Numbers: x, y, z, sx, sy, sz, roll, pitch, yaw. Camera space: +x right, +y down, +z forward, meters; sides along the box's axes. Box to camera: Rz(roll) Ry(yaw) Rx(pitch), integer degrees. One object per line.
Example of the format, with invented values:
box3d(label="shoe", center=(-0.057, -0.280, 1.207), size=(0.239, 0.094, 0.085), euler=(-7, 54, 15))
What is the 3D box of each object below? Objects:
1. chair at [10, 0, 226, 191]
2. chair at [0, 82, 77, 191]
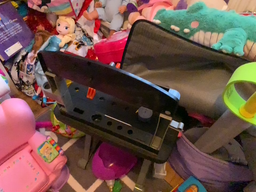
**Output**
box3d(label="chair", center=(-0.010, 0.030, 0.850), size=(0.430, 0.760, 0.390), euler=(20, 55, 11))
box3d(label="chair", center=(-0.500, 0.280, 0.860), size=(0.300, 0.440, 0.420), euler=(35, 59, 20))
